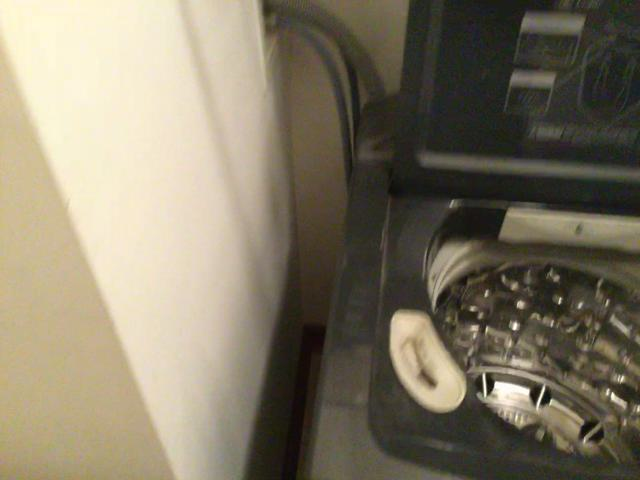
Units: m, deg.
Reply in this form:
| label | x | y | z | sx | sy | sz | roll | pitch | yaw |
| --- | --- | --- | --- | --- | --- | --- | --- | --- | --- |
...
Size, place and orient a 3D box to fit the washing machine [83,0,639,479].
| label | x | y | z | sx | sy | sz | roll | pitch | yaw |
| --- | --- | --- | --- | --- | --- | --- | --- | --- | --- |
| washing machine | 0.310 | 0.170 | 0.940 | 0.680 | 1.340 | 0.890 | 4 | 44 | 4 |
